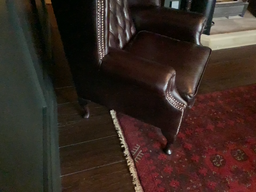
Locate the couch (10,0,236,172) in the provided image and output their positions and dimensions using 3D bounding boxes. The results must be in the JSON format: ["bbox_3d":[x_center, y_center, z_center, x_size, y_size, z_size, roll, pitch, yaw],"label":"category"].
[{"bbox_3d":[0.050,-0.350,1.250,0.880,1.040,0.840,22,47,19],"label":"couch"}]
